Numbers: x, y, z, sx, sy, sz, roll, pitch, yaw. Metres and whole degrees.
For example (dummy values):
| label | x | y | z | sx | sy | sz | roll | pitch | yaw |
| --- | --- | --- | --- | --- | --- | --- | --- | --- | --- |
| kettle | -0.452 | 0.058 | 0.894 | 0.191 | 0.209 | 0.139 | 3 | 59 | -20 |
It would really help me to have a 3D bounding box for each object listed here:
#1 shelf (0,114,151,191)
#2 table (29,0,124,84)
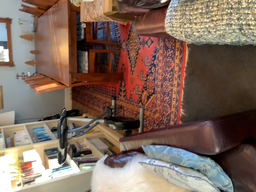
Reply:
| label | x | y | z | sx | sy | sz | roll | pitch | yaw |
| --- | --- | --- | --- | --- | --- | --- | --- | --- | --- |
| shelf | -1.220 | 0.770 | 2.740 | 2.030 | 2.220 | 0.360 | 17 | 109 | 56 |
| table | -1.020 | -0.860 | 3.540 | 2.320 | 0.790 | 1.040 | 17 | 108 | 56 |
